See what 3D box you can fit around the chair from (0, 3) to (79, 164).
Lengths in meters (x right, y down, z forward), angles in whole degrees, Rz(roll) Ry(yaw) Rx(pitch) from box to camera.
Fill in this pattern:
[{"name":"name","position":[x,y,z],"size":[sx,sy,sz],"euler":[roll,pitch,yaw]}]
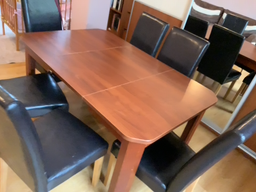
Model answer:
[{"name":"chair","position":[-0.790,-0.080,1.560],"size":[0.600,1.010,0.500],"euler":[-9,40,-33]}]

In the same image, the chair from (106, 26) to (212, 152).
[{"name":"chair","position":[0.240,-0.080,1.980],"size":[0.600,1.010,0.420],"euler":[-17,44,-40]}]

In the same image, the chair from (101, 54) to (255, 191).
[{"name":"chair","position":[0.270,0.350,1.340],"size":[0.580,1.010,0.470],"euler":[37,38,30]}]

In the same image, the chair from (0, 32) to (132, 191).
[{"name":"chair","position":[-0.450,0.250,1.200],"size":[0.470,1.010,0.600],"euler":[31,36,22]}]

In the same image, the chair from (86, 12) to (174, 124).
[{"name":"chair","position":[-0.020,-0.290,2.200],"size":[0.590,1.000,0.390],"euler":[-17,44,-40]}]
